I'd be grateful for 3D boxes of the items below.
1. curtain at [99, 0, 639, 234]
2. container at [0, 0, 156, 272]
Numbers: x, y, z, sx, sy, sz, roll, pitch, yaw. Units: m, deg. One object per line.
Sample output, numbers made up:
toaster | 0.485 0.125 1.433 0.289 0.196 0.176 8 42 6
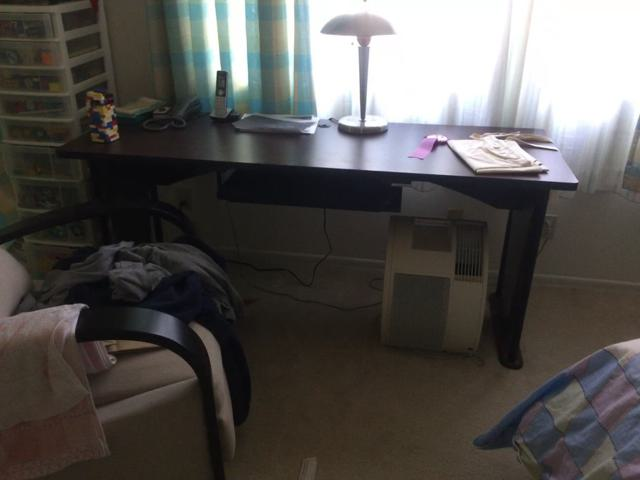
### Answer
curtain | 0.780 -0.900 1.960 3.120 1.690 0.410 4 27 9
container | -0.990 -0.430 2.300 0.390 1.010 0.410 4 27 9
